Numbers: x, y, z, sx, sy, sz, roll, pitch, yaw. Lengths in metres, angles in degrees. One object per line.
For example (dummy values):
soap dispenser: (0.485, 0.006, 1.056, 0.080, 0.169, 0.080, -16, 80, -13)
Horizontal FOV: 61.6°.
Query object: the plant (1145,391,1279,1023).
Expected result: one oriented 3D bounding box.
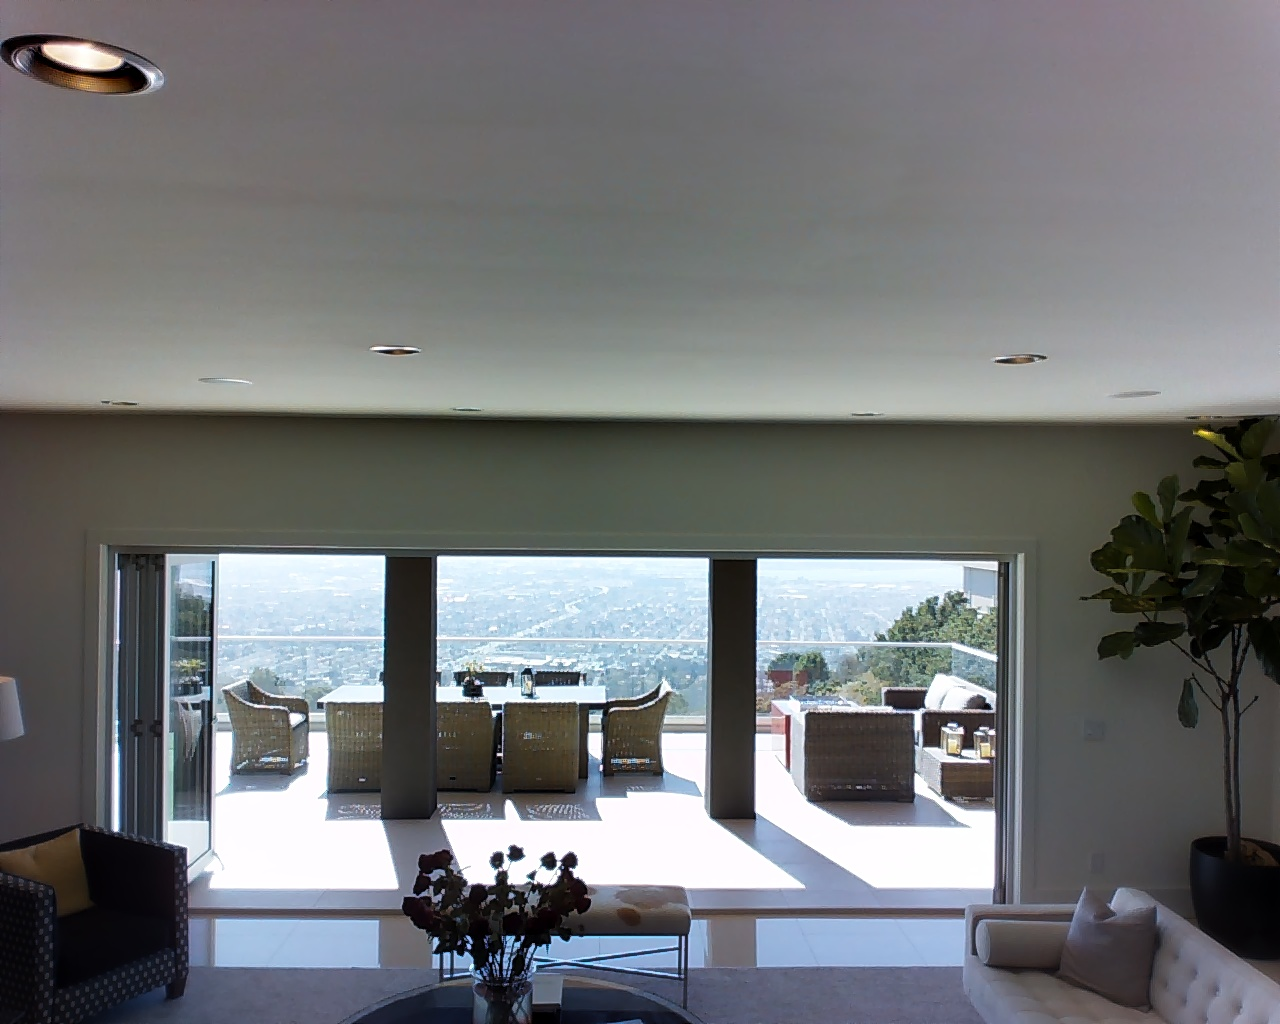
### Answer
plant: (3.400, 0.990, 5.820, 1.050, 3.070, 1.990, 0, 0, 21)
